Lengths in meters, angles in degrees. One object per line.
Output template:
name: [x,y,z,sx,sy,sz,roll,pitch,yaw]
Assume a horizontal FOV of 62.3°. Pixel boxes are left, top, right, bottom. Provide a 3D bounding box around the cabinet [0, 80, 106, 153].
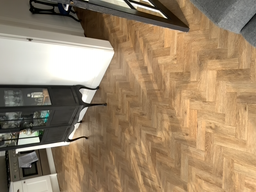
cabinet: [-1.260,0.270,2.720,0.940,1.700,0.380,-57,47,38]
